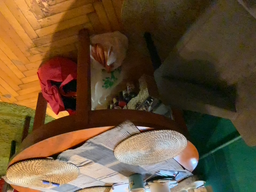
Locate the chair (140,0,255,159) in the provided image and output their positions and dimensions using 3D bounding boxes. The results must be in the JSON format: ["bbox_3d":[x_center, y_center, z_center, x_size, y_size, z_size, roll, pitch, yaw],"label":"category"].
[{"bbox_3d":[0.510,-0.210,1.140,0.540,0.870,0.540,14,135,-27],"label":"chair"}]
